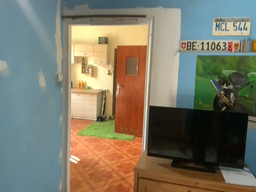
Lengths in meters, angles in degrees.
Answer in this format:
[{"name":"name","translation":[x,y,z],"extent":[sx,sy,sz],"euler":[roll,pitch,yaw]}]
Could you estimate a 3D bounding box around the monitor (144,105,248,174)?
[{"name":"monitor","translation":[0.510,0.330,1.700],"extent":[0.750,0.450,0.060],"euler":[5,8,16]}]
